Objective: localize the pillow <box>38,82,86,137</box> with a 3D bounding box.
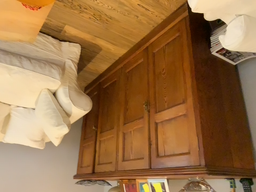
[{"bbox_3d":[-0.600,0.140,1.920,0.300,0.380,0.330,13,155,-27],"label":"pillow"}]
